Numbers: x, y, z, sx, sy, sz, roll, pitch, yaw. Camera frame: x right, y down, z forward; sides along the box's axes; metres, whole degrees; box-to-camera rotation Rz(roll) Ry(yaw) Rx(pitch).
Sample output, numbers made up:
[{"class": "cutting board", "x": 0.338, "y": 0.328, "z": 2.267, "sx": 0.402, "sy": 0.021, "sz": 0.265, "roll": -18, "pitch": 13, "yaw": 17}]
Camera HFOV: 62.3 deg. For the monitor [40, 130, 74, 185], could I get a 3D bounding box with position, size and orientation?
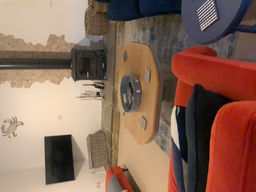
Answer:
[{"class": "monitor", "x": -1.470, "y": 1.230, "z": 4.370, "sx": 0.080, "sy": 0.590, "sz": 1.030, "roll": 123, "pitch": 139, "yaw": -56}]
